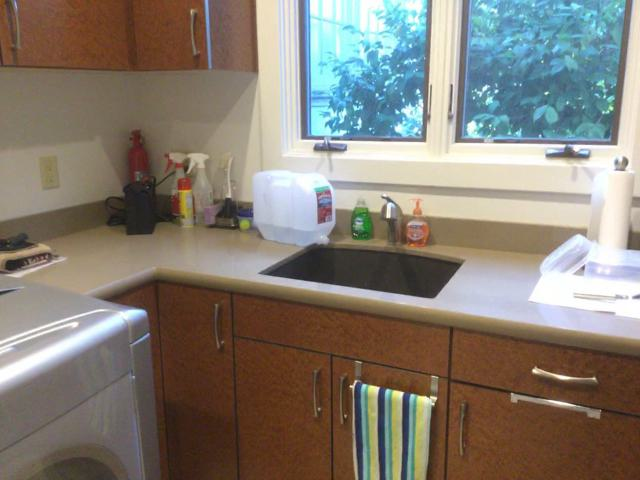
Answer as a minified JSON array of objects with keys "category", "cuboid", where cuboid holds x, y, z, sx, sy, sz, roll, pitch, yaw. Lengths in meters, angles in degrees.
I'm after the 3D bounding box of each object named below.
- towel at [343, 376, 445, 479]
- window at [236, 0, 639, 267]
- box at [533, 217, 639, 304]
[{"category":"towel","cuboid":[0.190,0.580,1.540,0.250,0.390,0.070,6,15,24]},{"category":"window","cuboid":[0.380,-0.670,1.840,1.370,1.360,0.230,6,15,24]},{"category":"box","cuboid":[0.840,0.050,1.550,0.460,0.110,0.440,6,15,24]}]
